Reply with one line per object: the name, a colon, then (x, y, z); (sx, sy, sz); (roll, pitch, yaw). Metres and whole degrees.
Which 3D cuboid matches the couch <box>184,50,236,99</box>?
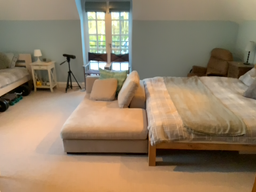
couch: (1.860, -0.520, 4.940); (0.780, 0.980, 0.680); (-3, 20, -11)
